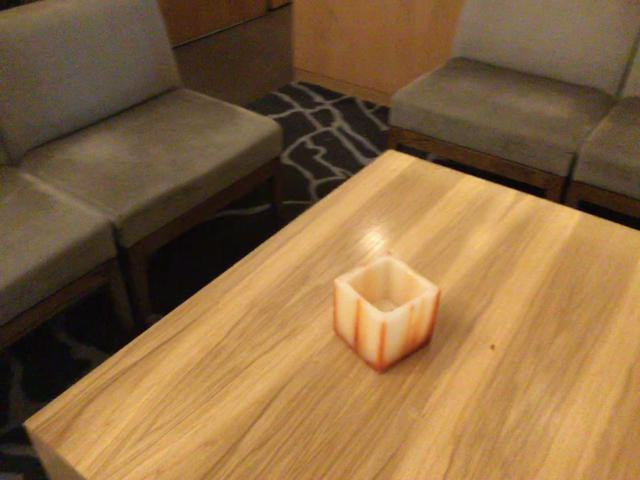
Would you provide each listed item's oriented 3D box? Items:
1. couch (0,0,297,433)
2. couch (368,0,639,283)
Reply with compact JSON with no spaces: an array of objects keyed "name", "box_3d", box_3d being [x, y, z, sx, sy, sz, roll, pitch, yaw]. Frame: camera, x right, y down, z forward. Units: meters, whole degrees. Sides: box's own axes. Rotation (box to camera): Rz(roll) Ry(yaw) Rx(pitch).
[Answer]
[{"name":"couch","box_3d":[-0.830,-0.190,1.720,0.720,0.840,1.510,23,41,29]},{"name":"couch","box_3d":[1.020,-0.460,2.080,1.520,0.820,0.690,23,41,29]}]
